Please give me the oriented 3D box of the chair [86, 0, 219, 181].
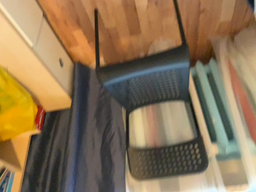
[{"bbox_3d":[0.110,-0.060,1.030,0.410,0.770,0.460,-13,145,14],"label":"chair"}]
